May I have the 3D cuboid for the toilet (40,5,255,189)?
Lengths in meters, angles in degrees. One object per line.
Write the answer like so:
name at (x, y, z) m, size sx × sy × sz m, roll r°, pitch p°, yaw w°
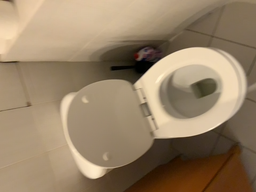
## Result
toilet at (0.170, 0.030, 0.980) m, size 0.660 × 0.790 × 0.380 m, roll -27°, pitch 80°, yaw 38°
